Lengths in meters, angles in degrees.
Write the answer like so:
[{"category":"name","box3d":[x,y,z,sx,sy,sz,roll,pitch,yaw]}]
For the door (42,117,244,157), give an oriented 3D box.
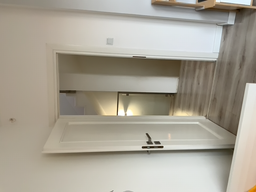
[{"category":"door","box3d":[0.160,0.410,2.370,0.710,1.970,0.150,-131,43,-75]}]
